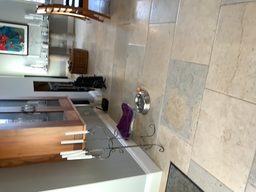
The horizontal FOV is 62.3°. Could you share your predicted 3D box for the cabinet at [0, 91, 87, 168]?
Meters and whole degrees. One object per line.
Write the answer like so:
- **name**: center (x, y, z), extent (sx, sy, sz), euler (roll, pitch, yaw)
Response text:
- **cabinet**: center (-1.430, 0.290, 2.360), extent (1.230, 1.640, 0.360), euler (-144, 59, -60)
